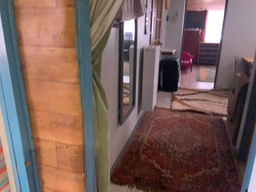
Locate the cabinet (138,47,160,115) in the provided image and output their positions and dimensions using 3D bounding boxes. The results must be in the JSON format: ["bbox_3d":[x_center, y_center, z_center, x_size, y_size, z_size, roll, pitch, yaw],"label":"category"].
[{"bbox_3d":[0.310,-0.240,3.120,0.210,0.910,0.450,6,19,16],"label":"cabinet"}]

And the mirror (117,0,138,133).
[{"bbox_3d":[0.010,-0.330,2.290,0.120,1.270,0.670,3,19,7],"label":"mirror"}]
